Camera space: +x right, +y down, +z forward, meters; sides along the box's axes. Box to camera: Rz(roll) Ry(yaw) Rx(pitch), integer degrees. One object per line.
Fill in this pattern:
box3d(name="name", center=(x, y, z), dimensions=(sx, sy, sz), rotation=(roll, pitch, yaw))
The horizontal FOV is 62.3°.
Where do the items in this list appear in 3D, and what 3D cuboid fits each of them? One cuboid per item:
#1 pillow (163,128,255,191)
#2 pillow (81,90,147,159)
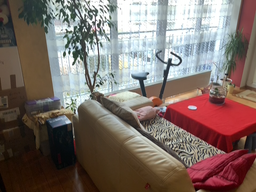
box3d(name="pillow", center=(0.580, 0.460, 1.440), dimensions=(0.630, 0.210, 0.280), rotation=(-13, 26, -30))
box3d(name="pillow", center=(-0.130, 0.210, 1.820), dimensions=(0.330, 0.330, 0.500), rotation=(-15, 27, -33))
